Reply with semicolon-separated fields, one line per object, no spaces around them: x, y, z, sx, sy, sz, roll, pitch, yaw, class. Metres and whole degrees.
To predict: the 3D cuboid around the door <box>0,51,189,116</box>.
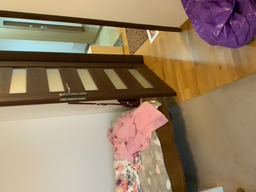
-0.500;-0.200;2.240;0.970;2.130;0.090;-122;37;-48;door

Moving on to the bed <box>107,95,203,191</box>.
0.270;1.110;2.370;1.210;0.430;1.980;146;118;-63;bed
